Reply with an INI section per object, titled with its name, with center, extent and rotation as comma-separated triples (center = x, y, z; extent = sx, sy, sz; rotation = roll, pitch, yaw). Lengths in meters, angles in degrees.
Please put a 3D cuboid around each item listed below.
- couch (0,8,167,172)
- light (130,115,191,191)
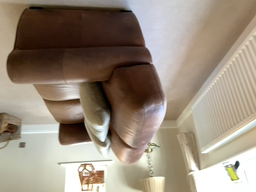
[couch]
center = -0.350, 0.110, 1.940
extent = 0.940, 0.870, 1.430
rotation = -1, 153, -7
[light]
center = 0.450, 0.930, 3.250
extent = 0.720, 1.200, 0.380
rotation = 0, 152, -8
